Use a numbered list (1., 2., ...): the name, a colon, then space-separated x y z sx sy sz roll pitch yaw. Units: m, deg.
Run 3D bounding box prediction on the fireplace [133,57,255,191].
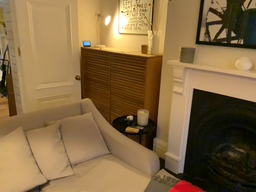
1. fireplace: 0.870 0.390 1.740 1.630 1.170 0.590 18 24 40
